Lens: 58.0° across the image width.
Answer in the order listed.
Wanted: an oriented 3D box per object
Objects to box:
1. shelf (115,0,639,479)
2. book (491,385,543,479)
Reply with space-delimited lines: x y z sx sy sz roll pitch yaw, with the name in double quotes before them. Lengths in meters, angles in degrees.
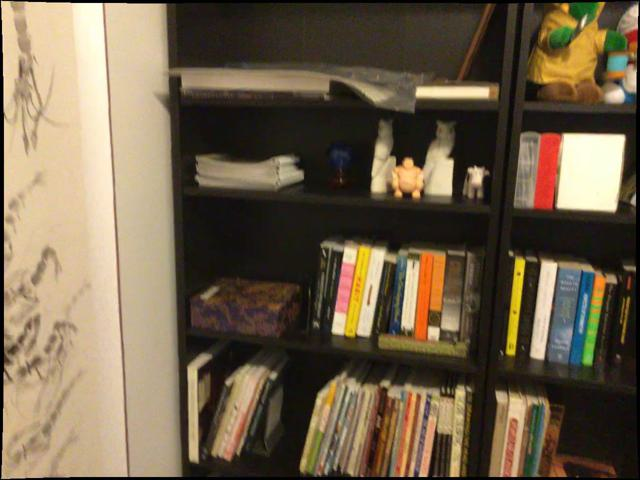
"shelf" 0.219 0.261 1.460 1.267 1.974 0.460 5 15 15
"book" 0.469 0.511 1.390 0.090 0.311 0.060 5 15 15
